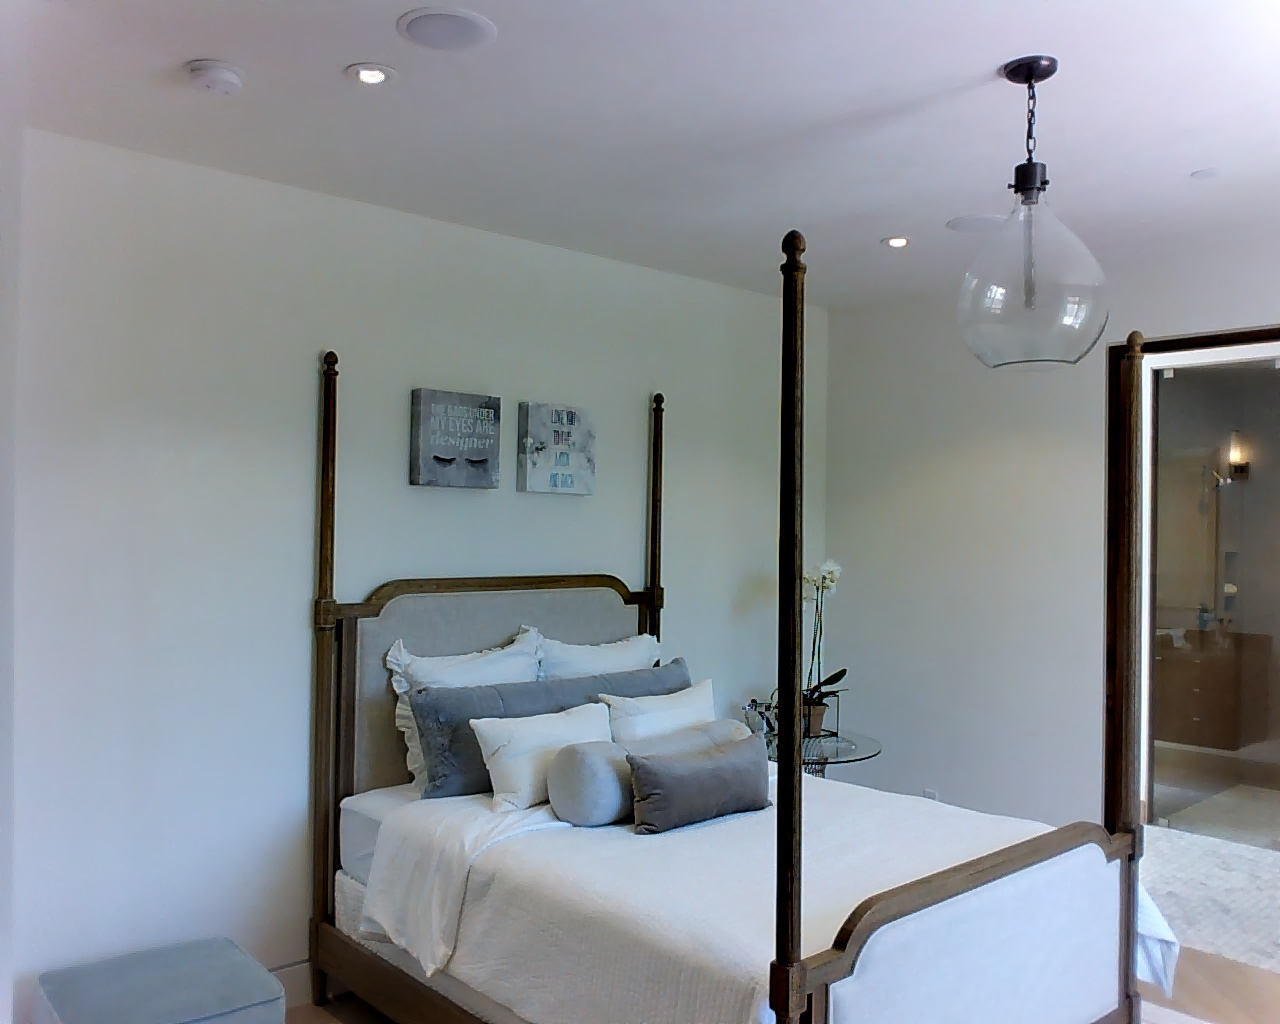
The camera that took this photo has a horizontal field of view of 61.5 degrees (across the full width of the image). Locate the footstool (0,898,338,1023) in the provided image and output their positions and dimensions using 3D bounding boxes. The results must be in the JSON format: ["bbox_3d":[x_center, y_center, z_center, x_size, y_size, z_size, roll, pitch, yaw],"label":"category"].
[{"bbox_3d":[-1.330,1.460,3.020,0.690,0.420,0.680,2,-1,-42],"label":"footstool"}]
